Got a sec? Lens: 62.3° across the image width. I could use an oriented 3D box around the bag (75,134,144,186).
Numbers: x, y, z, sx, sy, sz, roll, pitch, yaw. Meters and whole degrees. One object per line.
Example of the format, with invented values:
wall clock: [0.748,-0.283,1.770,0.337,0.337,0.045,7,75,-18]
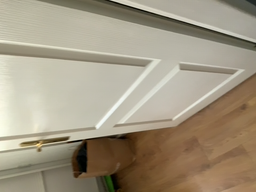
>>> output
bag: [-0.200,0.650,2.160,0.520,0.470,0.260,-50,52,42]
